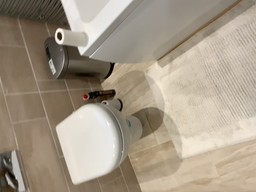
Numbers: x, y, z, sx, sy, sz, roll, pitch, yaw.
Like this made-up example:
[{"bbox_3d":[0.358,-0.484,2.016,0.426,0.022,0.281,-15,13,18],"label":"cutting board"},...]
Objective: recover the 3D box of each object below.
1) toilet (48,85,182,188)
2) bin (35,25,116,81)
[{"bbox_3d":[-0.080,0.220,1.250,0.490,0.510,0.360,-33,73,39],"label":"toilet"},{"bbox_3d":[-0.360,-0.280,1.490,0.240,0.440,0.260,-31,74,39],"label":"bin"}]
